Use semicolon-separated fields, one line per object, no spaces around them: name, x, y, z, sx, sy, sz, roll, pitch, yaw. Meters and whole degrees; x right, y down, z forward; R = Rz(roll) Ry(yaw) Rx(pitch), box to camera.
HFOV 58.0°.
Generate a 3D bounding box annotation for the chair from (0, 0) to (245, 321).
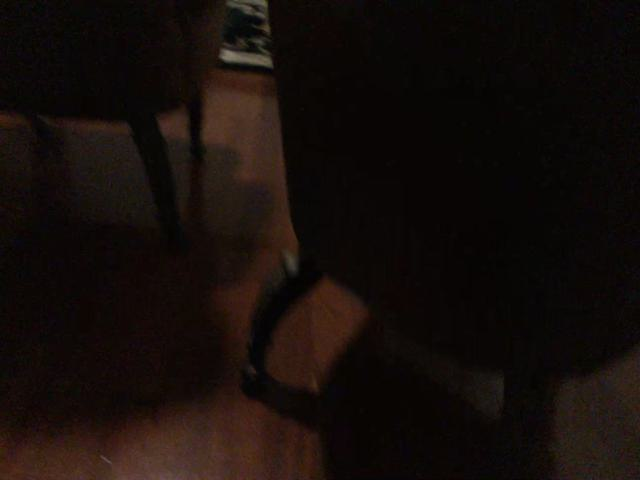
chair;-0.520;-0.410;1.080;0.680;0.810;0.670;6;34;-4
